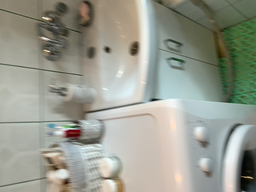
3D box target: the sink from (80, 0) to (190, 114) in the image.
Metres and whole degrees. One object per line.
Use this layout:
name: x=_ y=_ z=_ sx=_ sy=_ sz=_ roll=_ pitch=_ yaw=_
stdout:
sink: x=0.000 y=-0.220 z=0.890 sx=0.380 sy=0.210 sz=0.550 roll=-15 pitch=76 yaw=45
